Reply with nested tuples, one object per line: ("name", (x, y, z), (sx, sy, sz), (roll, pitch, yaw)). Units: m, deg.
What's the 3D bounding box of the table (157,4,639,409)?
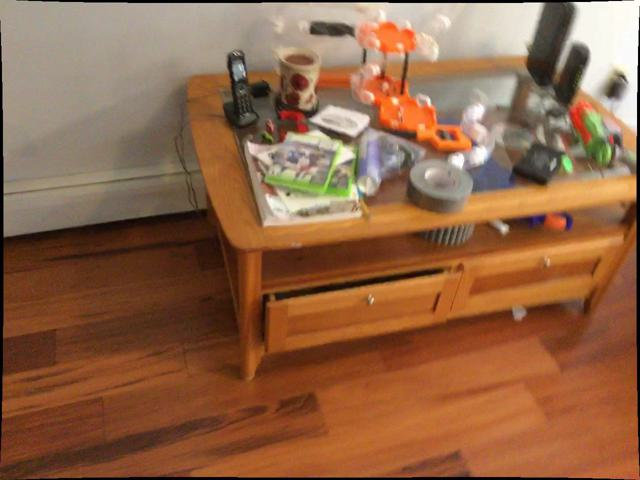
("table", (0.250, -0.190, 1.700), (1.249, 0.640, 0.840), (-10, 44, -17))
